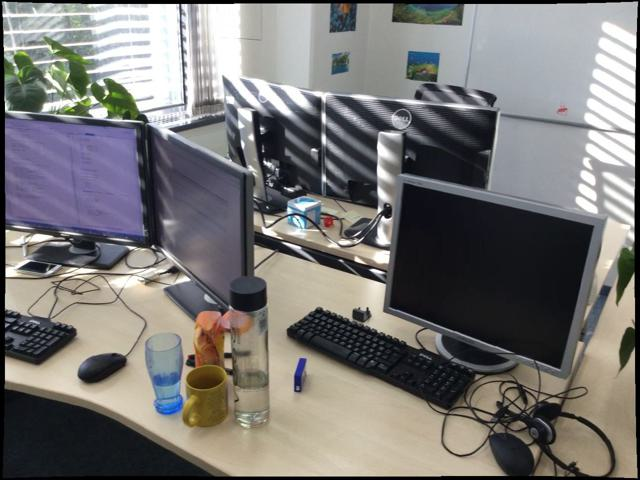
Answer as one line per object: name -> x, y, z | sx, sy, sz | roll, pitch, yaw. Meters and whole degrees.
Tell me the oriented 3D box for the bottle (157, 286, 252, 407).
bottle -> -0.240, 0.220, 1.220 | 0.130, 0.180, 0.130 | 17, 30, 31
